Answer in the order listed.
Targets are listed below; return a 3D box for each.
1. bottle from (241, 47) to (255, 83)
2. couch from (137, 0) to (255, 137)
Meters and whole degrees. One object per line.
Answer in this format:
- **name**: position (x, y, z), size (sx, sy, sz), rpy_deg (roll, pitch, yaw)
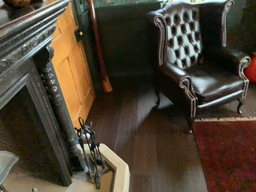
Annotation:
- **bottle**: position (1.540, -0.380, 2.590), size (0.220, 0.370, 0.240), rpy_deg (6, 34, 20)
- **couch**: position (0.660, -0.340, 2.140), size (0.800, 0.980, 0.840), rpy_deg (-16, 33, -14)
